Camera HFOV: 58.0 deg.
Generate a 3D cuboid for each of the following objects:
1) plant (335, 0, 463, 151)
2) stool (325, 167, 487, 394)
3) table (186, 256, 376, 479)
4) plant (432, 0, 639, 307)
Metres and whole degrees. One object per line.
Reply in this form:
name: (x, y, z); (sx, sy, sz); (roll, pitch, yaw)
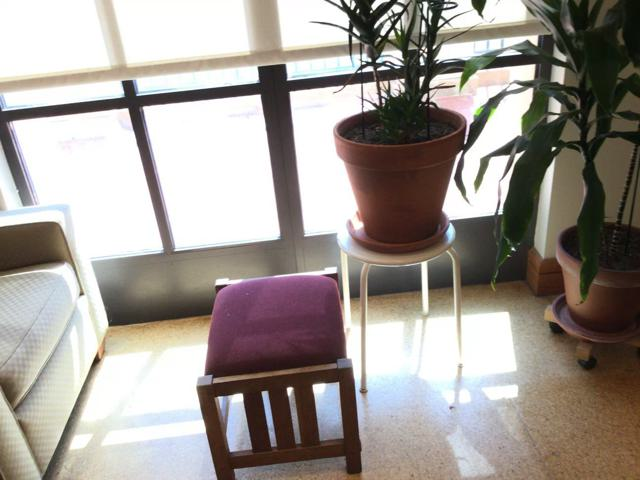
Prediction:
plant: (0.210, -0.510, 1.590); (0.290, 0.440, 0.260); (-7, 26, -1)
stool: (0.260, 0.110, 1.890); (0.400, 0.520, 0.500); (-7, 26, -1)
table: (-0.100, 0.360, 1.650); (0.420, 0.390, 0.510); (-7, 26, -1)
plant: (0.640, -0.340, 1.560); (0.490, 0.690, 0.750); (-7, 26, -1)
